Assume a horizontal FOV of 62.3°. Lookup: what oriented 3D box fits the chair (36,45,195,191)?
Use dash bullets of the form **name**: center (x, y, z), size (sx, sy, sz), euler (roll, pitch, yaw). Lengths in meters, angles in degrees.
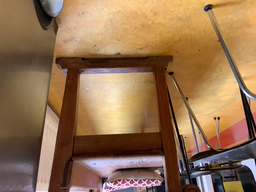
- **chair**: center (-0.070, 0.560, 1.570), size (0.500, 0.860, 1.850), euler (-3, 156, -3)
